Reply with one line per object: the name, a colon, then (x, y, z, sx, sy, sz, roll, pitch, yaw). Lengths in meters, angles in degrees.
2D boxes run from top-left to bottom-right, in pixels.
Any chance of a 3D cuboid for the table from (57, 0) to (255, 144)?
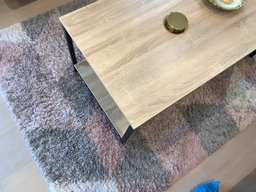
table: (0.270, -0.290, 1.090, 1.020, 0.420, 0.530, -31, 77, -17)
